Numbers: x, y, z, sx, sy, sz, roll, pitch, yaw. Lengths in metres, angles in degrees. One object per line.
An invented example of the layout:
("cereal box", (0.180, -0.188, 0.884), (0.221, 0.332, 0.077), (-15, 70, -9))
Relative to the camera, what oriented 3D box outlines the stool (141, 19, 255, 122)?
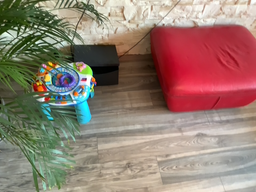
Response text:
("stool", (0.630, -0.230, 1.730), (0.880, 0.430, 0.670), (-4, 56, -10))
